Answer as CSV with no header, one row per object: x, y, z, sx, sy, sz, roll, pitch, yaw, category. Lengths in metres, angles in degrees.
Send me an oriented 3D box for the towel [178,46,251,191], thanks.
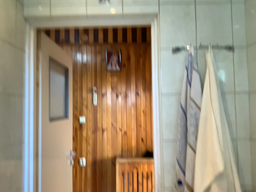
0.420,0.270,1.070,0.270,1.000,0.210,0,-2,1,towel
